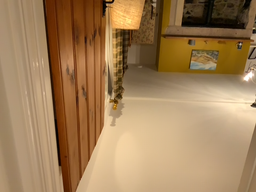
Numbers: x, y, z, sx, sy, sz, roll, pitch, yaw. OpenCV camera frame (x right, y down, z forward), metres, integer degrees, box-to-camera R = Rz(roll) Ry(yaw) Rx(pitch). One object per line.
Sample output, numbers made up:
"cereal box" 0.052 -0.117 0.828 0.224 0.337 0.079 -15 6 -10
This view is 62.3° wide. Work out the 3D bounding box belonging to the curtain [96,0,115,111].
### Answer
"curtain" -0.230 -0.620 2.250 0.120 1.500 0.450 3 -159 3
